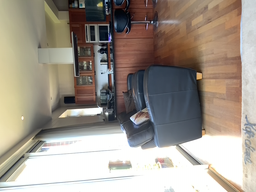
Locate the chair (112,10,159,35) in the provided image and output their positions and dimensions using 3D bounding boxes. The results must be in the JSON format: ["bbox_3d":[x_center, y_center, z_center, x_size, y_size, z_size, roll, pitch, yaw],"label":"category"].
[{"bbox_3d":[0.120,-1.470,4.210,0.510,0.840,0.410,-109,18,-64],"label":"chair"}]

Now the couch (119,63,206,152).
[{"bbox_3d":[0.370,0.090,2.750,0.920,0.860,0.930,-157,65,-81],"label":"couch"}]

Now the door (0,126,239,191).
[{"bbox_3d":[-0.050,1.100,0.990,6.690,2.440,0.120,-143,51,-80],"label":"door"}]
